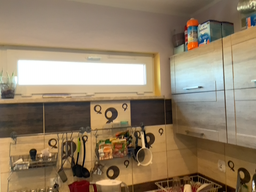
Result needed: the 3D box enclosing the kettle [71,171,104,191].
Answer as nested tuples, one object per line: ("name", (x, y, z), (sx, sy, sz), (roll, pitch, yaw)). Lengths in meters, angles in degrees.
("kettle", (-0.310, 0.770, 1.600), (0.220, 0.320, 0.190), (-1, -1, -20))
